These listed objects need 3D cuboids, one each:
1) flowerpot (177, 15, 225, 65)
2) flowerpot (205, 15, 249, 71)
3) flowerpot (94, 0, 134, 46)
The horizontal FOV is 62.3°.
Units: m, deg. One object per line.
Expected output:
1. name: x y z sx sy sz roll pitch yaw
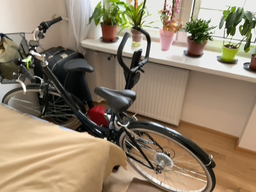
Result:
1. flowerpot: 0.600 -0.470 1.760 0.260 0.310 0.240 20 36 26
2. flowerpot: 0.790 -0.430 1.700 0.210 0.350 0.240 17 35 22
3. flowerpot: -0.130 -0.710 2.030 0.220 0.340 0.320 20 36 26
